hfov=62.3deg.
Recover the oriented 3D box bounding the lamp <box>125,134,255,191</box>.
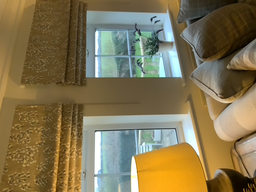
[{"bbox_3d":[0.400,0.530,1.170,0.540,0.760,0.460,102,165,-60],"label":"lamp"}]
